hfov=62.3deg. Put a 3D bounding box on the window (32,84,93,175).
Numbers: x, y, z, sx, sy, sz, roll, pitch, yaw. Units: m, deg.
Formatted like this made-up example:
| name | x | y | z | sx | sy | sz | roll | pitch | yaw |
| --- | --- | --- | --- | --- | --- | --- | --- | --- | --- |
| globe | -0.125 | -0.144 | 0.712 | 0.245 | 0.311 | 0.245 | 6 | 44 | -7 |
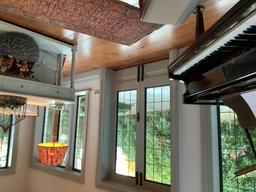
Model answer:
| name | x | y | z | sx | sy | sz | roll | pitch | yaw |
| --- | --- | --- | --- | --- | --- | --- | --- | --- | --- |
| window | -1.670 | 0.740 | 5.130 | 2.240 | 1.850 | 0.120 | -6 | 169 | 41 |
